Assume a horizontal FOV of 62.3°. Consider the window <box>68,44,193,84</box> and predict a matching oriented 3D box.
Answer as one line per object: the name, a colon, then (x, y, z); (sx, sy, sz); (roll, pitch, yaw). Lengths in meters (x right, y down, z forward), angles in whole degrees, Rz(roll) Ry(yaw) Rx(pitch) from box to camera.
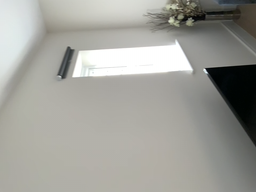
window: (0.010, -0.370, 2.310); (0.610, 1.220, 0.050); (-95, 2, -50)
